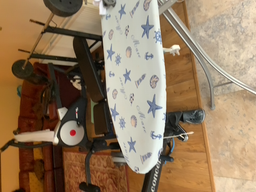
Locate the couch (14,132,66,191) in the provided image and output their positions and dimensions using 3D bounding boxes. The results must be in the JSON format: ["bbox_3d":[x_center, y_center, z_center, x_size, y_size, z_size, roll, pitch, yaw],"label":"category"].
[{"bbox_3d":[-1.980,1.640,4.700,1.110,0.780,1.510,-18,75,53],"label":"couch"}]

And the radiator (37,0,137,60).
[{"bbox_3d":[-0.660,-0.770,2.770,1.710,0.630,0.100,-13,80,54],"label":"radiator"}]

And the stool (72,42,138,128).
[{"bbox_3d":[-0.260,-0.110,2.430,0.260,0.630,0.880,-15,77,54],"label":"stool"}]
